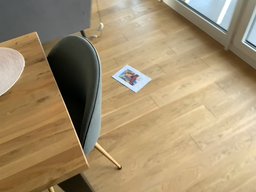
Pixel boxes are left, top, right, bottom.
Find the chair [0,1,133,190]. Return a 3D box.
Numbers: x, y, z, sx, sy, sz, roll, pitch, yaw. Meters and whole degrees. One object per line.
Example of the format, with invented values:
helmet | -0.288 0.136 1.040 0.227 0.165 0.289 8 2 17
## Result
chair | -0.340 0.050 1.230 0.540 0.870 0.510 -23 53 -14
